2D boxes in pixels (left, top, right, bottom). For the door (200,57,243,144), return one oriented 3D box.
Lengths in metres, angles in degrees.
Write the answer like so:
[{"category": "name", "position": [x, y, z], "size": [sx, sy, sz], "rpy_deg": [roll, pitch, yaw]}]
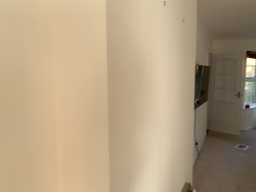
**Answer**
[{"category": "door", "position": [2.380, 0.090, 5.490], "size": [0.070, 2.110, 0.990], "rpy_deg": [-7, 9, -42]}]
